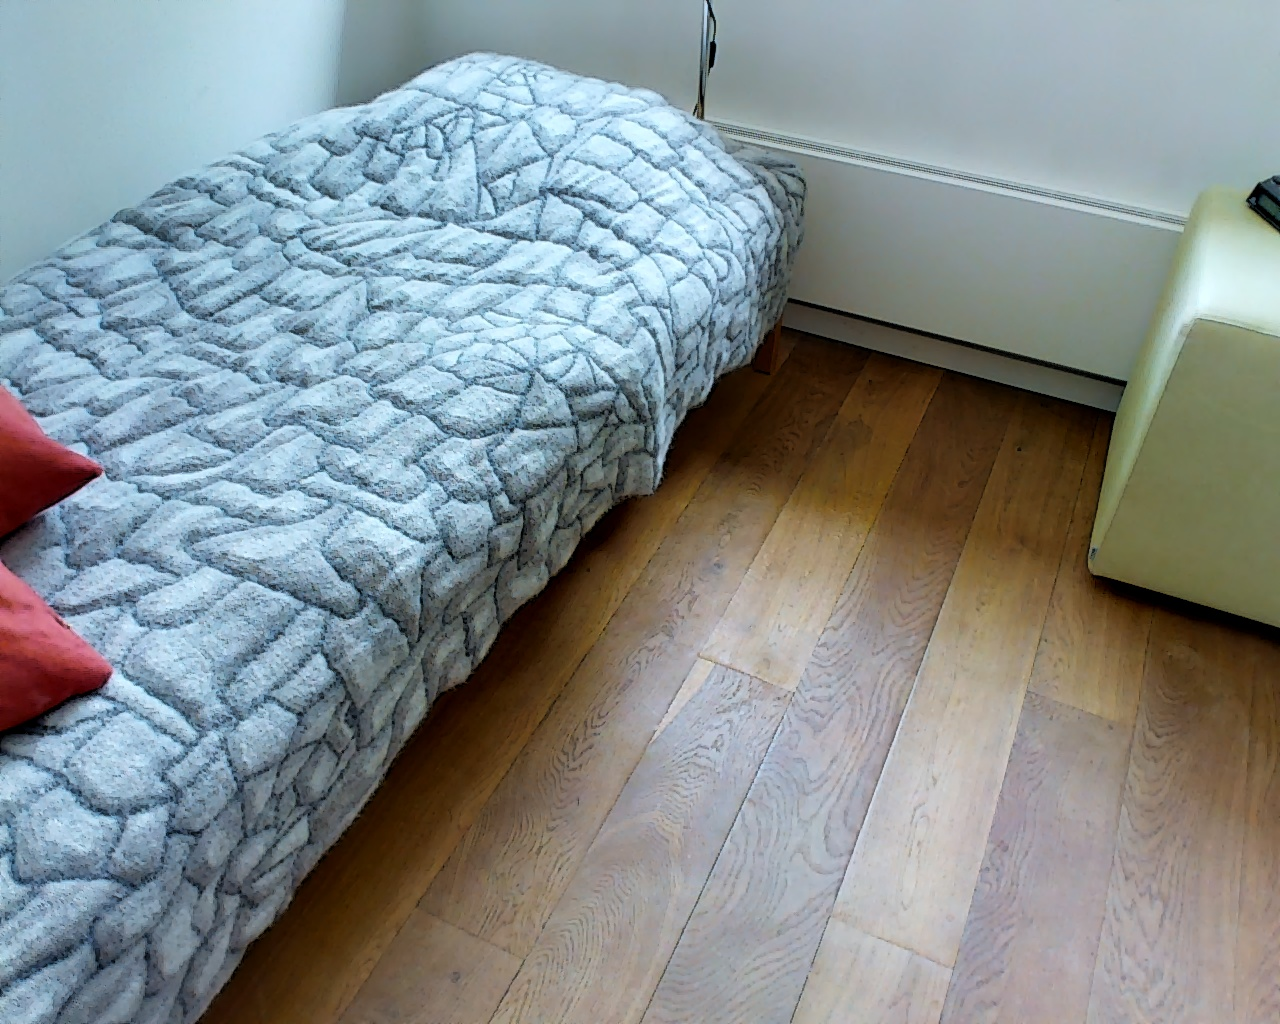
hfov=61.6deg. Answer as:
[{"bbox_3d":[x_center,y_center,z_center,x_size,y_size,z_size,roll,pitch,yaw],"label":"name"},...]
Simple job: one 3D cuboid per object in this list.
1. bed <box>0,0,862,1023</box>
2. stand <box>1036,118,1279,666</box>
[{"bbox_3d":[-0.570,-0.160,1.780,1.130,0.660,2.440,18,44,17],"label":"bed"},{"bbox_3d":[1.370,-0.140,1.850,1.070,0.650,0.670,18,44,17],"label":"stand"}]
